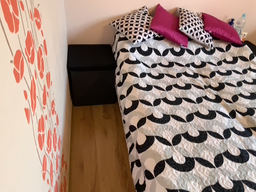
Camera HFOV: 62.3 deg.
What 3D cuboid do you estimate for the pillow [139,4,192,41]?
[{"bbox_3d":[0.320,-0.670,1.910,0.330,0.220,0.330,-6,39,-15],"label":"pillow"}]
